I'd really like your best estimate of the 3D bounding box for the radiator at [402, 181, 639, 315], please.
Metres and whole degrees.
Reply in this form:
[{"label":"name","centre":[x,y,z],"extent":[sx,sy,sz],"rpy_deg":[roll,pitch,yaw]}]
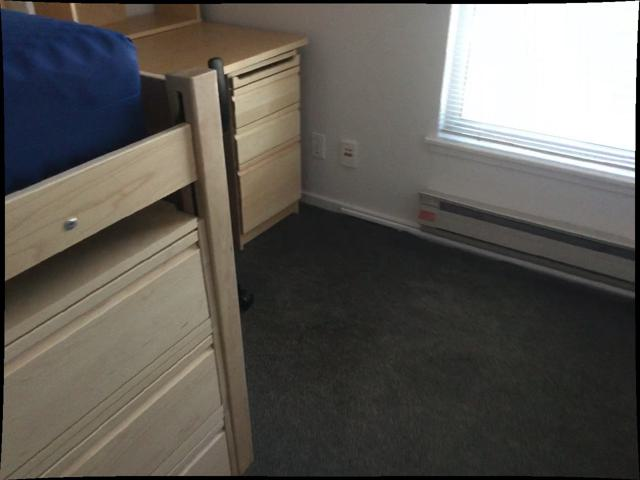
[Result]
[{"label":"radiator","centre":[0.779,0.020,2.140],"extent":[0.969,0.240,0.100],"rpy_deg":[18,36,27]}]
